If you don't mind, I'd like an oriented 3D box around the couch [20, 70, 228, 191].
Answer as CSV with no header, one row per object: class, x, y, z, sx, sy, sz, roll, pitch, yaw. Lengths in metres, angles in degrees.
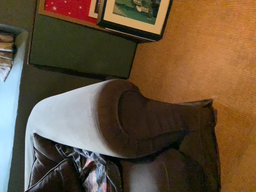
couch,-0.110,0.670,1.270,1.090,0.740,1.420,-6,85,50
